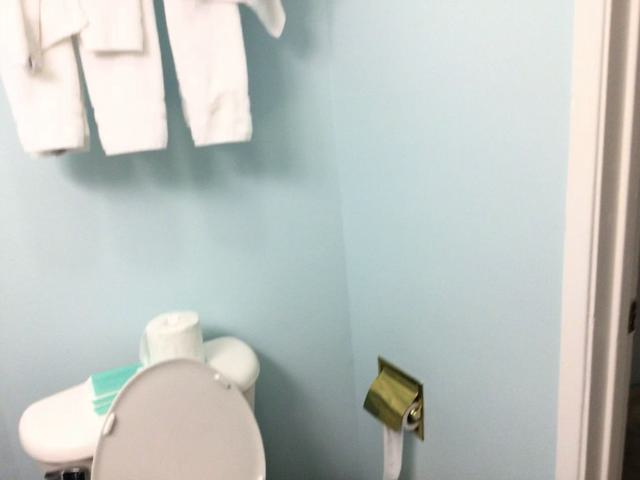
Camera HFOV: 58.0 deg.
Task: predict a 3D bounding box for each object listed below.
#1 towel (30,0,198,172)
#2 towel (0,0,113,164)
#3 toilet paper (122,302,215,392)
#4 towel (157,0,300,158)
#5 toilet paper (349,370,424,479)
[{"bbox_3d":[-0.370,-0.320,1.040,0.210,0.350,0.110,-17,20,-29],"label":"towel"},{"bbox_3d":[-0.490,-0.320,1.020,0.140,0.340,0.130,-17,20,-29],"label":"towel"},{"bbox_3d":[-0.320,0.220,1.220,0.140,0.110,0.130,-17,20,-29],"label":"toilet paper"},{"bbox_3d":[-0.180,-0.360,1.110,0.220,0.360,0.110,-11,17,-12],"label":"towel"},{"bbox_3d":[0.160,0.480,1.380,0.090,0.290,0.140,-17,20,-29],"label":"toilet paper"}]
